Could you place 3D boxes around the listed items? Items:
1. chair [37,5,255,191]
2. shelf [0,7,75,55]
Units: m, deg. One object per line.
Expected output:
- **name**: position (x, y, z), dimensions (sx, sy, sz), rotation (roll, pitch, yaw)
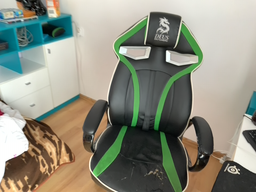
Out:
- **chair**: position (0.110, 0.190, 1.300), dimensions (0.730, 1.220, 0.830), rotation (9, 32, 8)
- **shelf**: position (-1.000, -0.660, 2.050), dimensions (0.410, 0.230, 0.910), rotation (22, 36, 27)
